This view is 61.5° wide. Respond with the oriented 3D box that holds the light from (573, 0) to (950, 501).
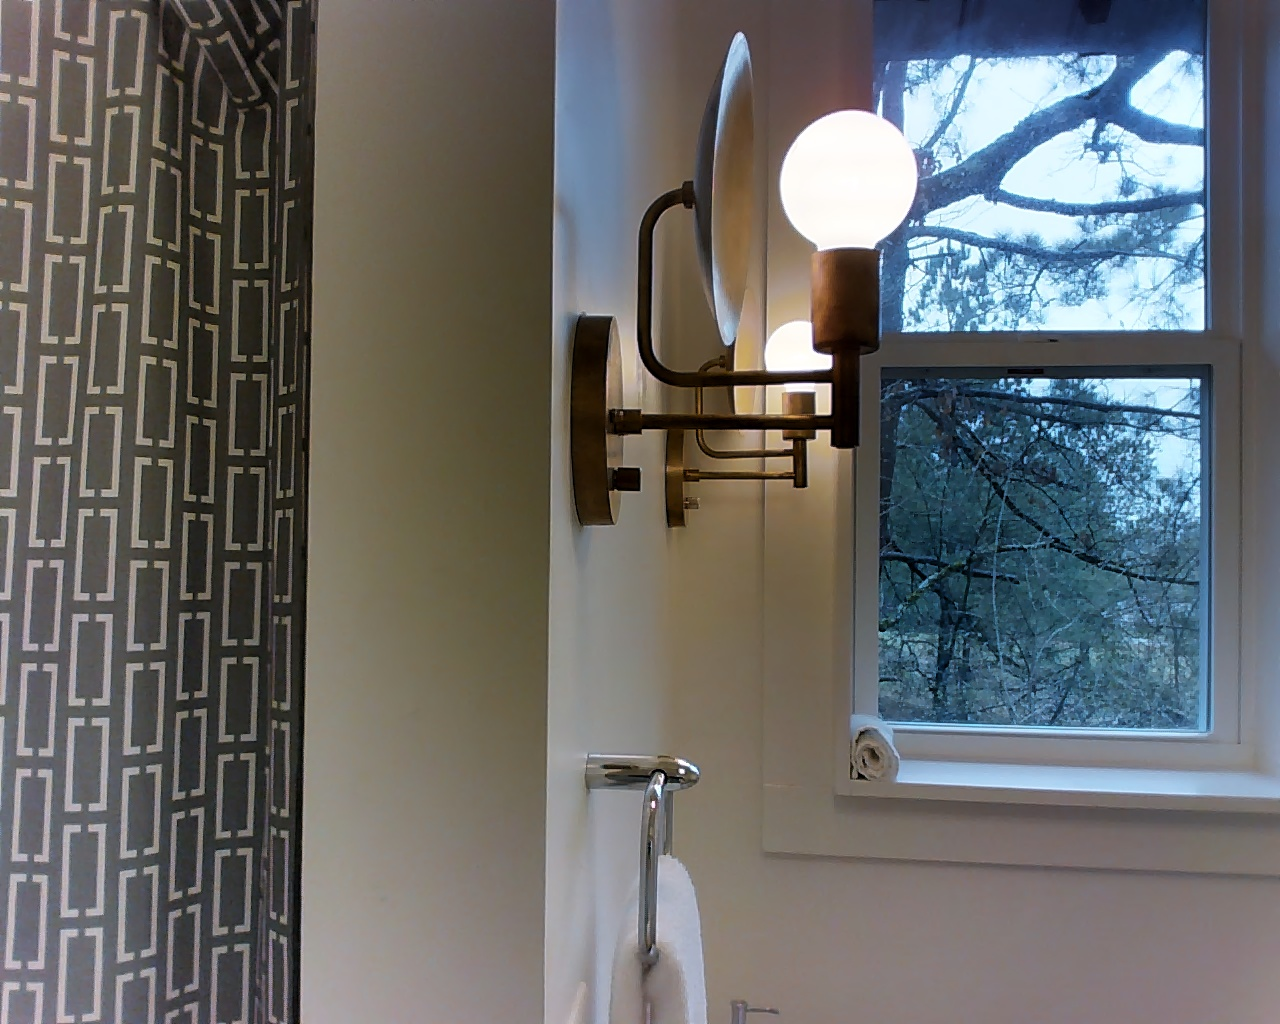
[{"bbox_3d":[0.070,-0.160,0.670,0.200,0.300,0.170,1,-1,3],"label":"light"}]
